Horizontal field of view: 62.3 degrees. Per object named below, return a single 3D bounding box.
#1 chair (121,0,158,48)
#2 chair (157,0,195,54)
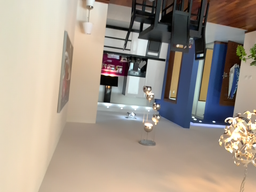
[{"bbox_3d":[0.210,-1.430,3.910,0.520,0.970,0.370,6,-176,-12],"label":"chair"},{"bbox_3d":[0.830,-1.300,3.680,0.350,1.050,0.490,6,-176,-17],"label":"chair"}]
